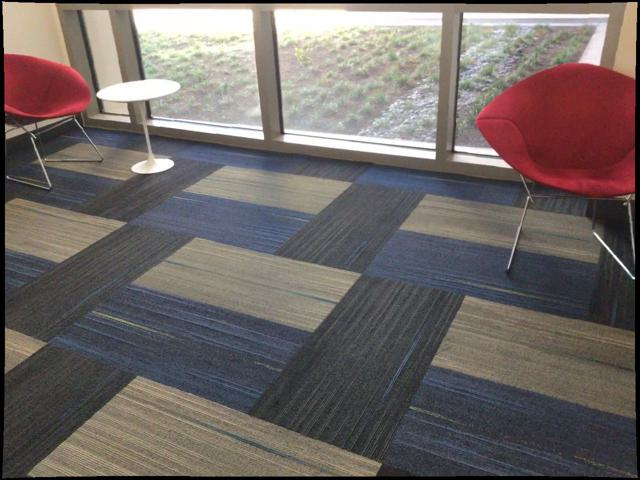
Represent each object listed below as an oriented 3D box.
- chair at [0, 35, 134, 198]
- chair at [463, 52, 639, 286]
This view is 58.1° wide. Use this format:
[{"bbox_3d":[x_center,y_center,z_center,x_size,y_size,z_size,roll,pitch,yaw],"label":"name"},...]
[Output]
[{"bbox_3d":[-1.845,-0.812,3.560,0.848,0.671,0.880,12,33,23],"label":"chair"},{"bbox_3d":[1.127,-0.371,2.550,0.858,0.691,0.971,3,30,9],"label":"chair"}]
